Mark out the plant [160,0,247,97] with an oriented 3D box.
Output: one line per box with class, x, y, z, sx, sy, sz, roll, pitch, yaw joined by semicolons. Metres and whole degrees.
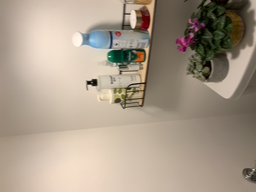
plant;0.240;-0.200;0.720;0.150;0.160;0.370;-118;28;-56
